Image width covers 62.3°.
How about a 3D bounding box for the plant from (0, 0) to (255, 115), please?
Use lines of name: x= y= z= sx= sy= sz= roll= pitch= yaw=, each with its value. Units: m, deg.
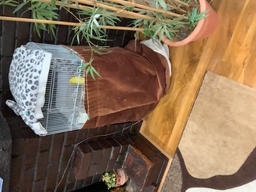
plant: x=-0.140 y=-0.380 z=0.790 sx=0.610 sy=1.670 sz=0.590 roll=57 pitch=131 yaw=31
